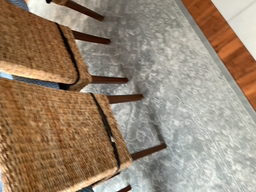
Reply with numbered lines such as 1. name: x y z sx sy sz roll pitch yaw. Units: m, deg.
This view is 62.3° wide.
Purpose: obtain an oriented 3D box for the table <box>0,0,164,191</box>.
1. table: -0.780 0.020 1.600 1.080 0.770 2.420 -35 70 29

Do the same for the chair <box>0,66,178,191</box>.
1. chair: -0.280 0.260 1.110 0.590 0.980 0.450 -38 68 28
